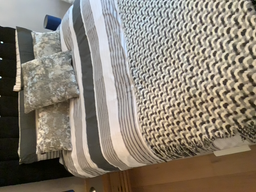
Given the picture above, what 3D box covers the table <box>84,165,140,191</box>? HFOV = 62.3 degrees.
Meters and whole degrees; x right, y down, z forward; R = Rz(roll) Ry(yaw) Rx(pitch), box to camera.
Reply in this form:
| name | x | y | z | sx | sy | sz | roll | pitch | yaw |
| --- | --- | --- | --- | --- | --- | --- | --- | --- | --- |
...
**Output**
| name | x | y | z | sx | sy | sz | roll | pitch | yaw |
| --- | --- | --- | --- | --- | --- | --- | --- | --- | --- |
| table | -0.150 | 0.930 | 2.080 | 0.320 | 0.420 | 0.390 | -32 | 61 | 45 |
